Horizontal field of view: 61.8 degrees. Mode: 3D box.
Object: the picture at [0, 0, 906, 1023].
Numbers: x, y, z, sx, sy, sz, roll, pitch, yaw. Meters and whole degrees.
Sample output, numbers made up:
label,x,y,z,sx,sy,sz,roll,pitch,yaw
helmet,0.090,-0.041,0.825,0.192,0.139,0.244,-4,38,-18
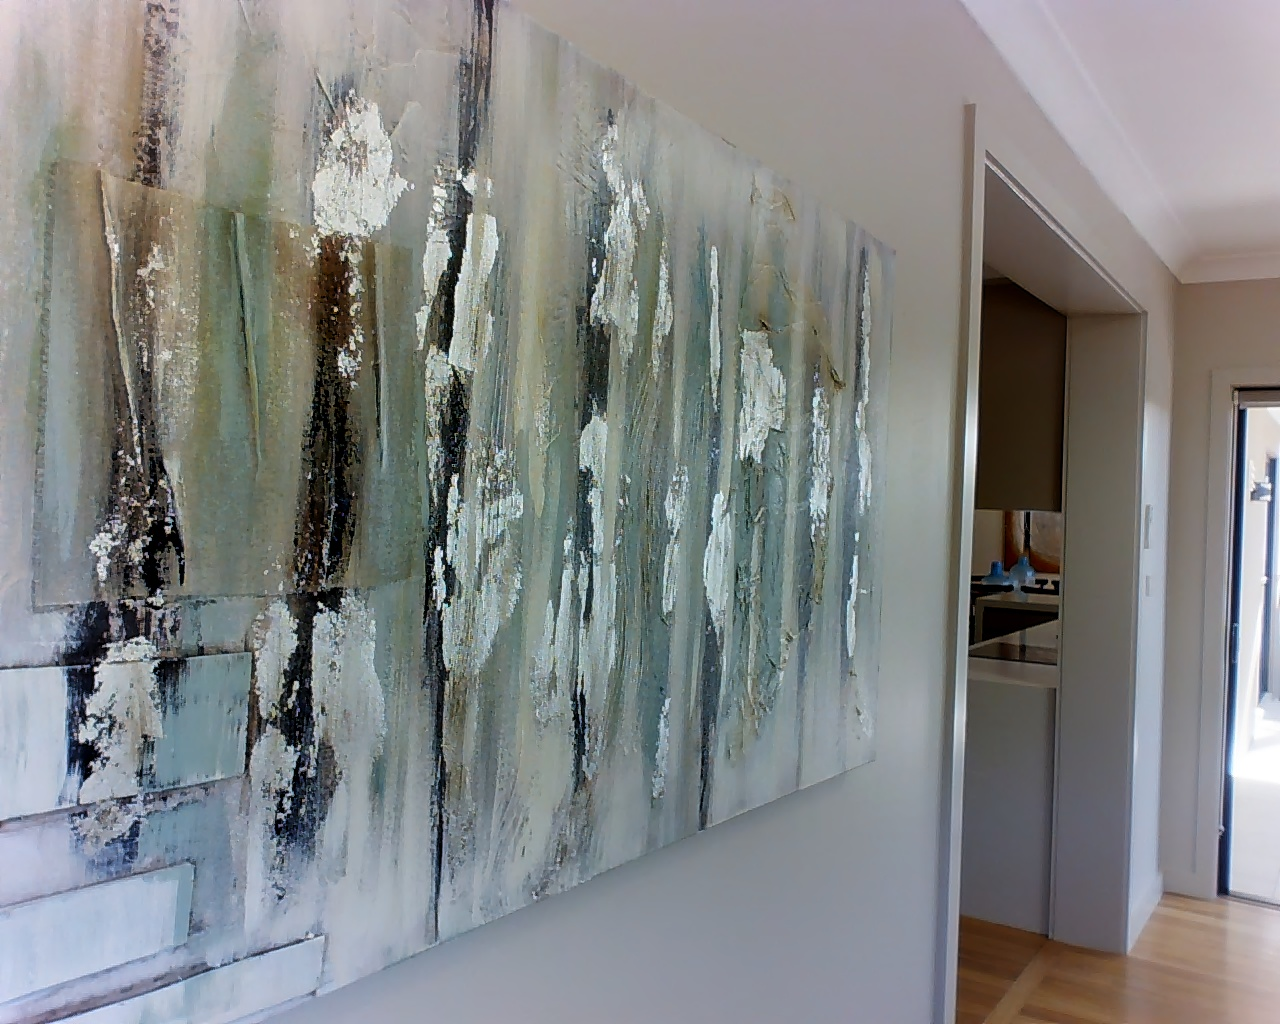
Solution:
label,x,y,z,sx,sy,sz,roll,pitch,yaw
picture,-0.050,-0.030,1.060,0.070,0.930,1.520,2,0,34
